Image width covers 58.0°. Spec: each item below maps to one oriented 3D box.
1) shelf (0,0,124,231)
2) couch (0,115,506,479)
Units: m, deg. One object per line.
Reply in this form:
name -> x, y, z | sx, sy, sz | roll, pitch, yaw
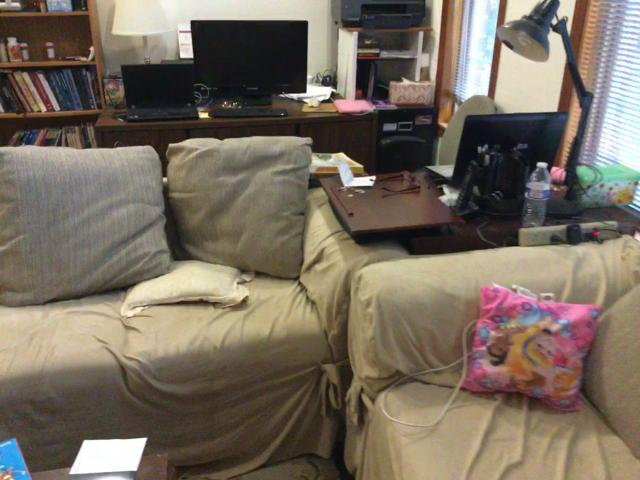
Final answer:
shelf -> -1.690, -0.710, 3.160 | 1.030, 1.290, 0.300 | -4, 24, -14
couch -> -0.880, 0.220, 1.750 | 2.420, 0.940, 1.090 | -4, 24, -14
